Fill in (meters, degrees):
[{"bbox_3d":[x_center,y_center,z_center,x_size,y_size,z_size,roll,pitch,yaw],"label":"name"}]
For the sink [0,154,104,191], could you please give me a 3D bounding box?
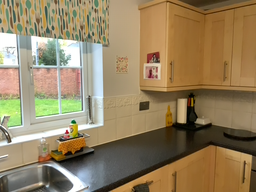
[{"bbox_3d":[-0.500,0.580,1.270,0.490,0.190,0.530,-5,9,-44],"label":"sink"}]
